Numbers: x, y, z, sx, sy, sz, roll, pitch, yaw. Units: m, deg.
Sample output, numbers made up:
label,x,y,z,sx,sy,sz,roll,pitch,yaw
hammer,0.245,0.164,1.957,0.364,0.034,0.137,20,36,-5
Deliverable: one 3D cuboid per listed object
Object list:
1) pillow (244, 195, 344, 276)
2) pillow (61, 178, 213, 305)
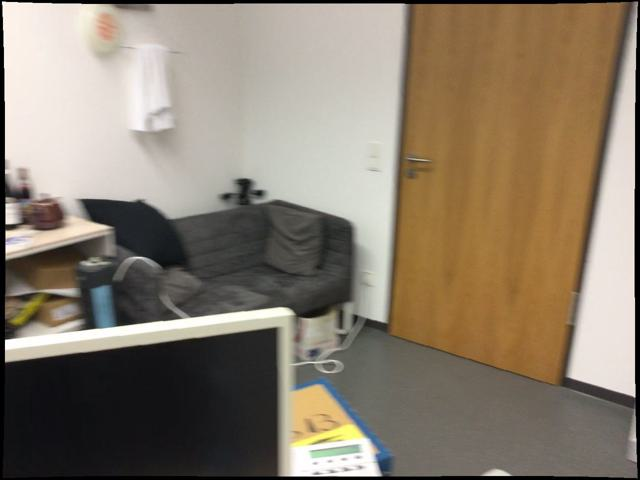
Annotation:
label,x,y,z,sx,sy,sz,roll,pitch,yaw
pillow,-0.150,-0.040,3.310,0.510,0.320,0.260,13,23,34
pillow,-0.899,-0.020,2.890,0.480,0.440,0.490,13,23,34
